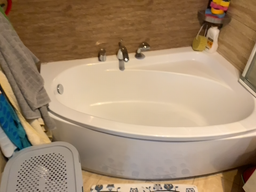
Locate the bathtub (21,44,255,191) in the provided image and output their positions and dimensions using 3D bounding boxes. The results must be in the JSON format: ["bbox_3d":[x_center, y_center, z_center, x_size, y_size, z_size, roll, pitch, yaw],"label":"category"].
[{"bbox_3d":[0.120,0.170,1.660,1.520,0.590,1.030,-8,42,-13],"label":"bathtub"}]
